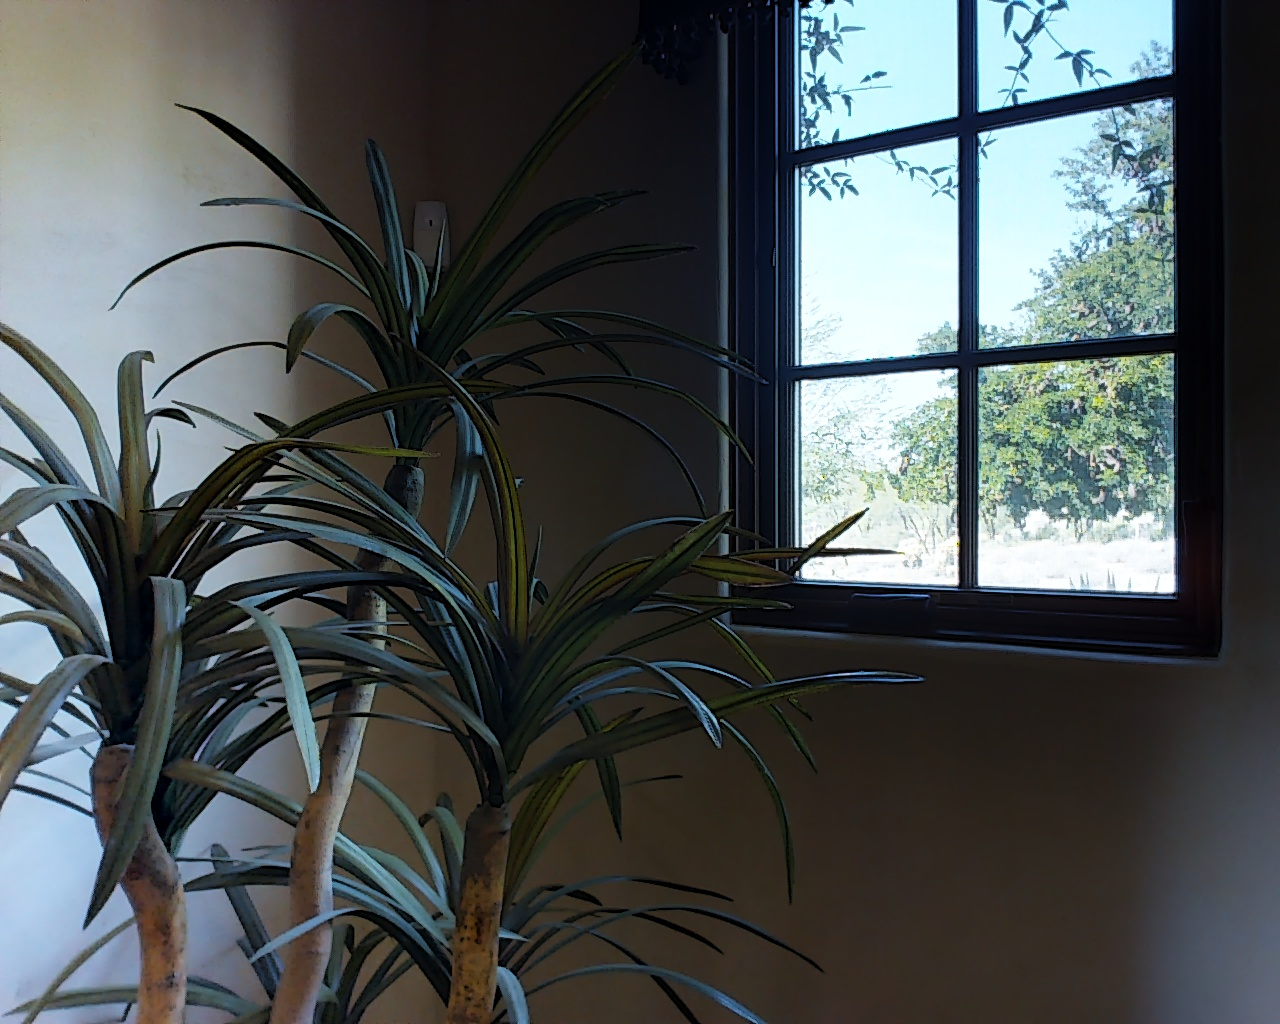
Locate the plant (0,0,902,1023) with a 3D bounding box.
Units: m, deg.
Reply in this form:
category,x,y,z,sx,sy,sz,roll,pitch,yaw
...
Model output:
category,x,y,z,sx,sy,sz,roll,pitch,yaw
plant,-0.310,0.520,1.140,0.820,1.930,1.030,-1,-1,35
